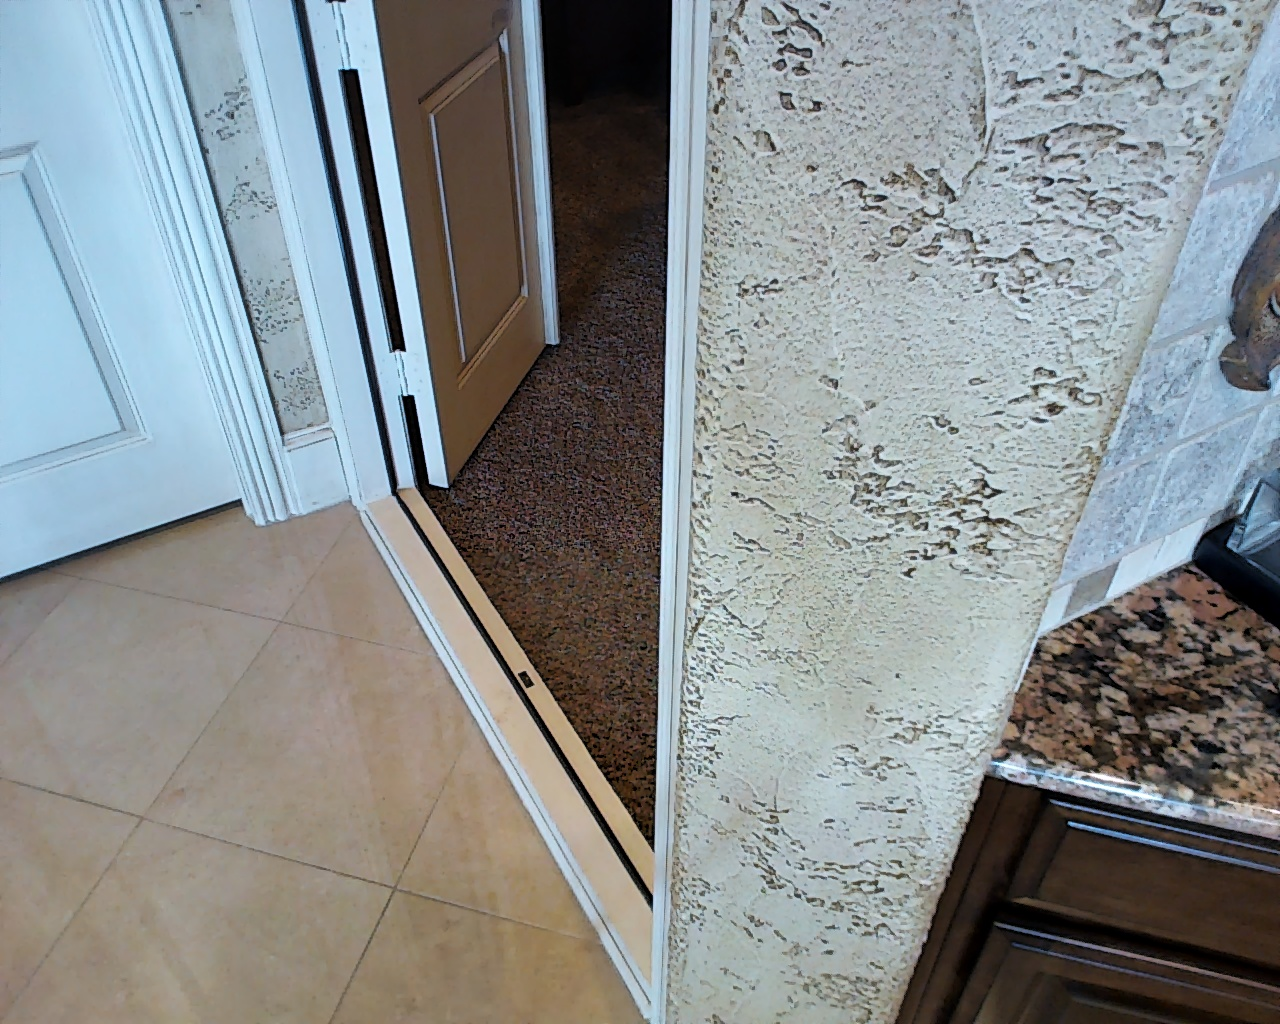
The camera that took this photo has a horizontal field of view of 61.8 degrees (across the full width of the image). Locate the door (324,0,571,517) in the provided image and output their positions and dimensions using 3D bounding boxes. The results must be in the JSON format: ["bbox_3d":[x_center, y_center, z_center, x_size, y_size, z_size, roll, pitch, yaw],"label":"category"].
[{"bbox_3d":[-0.340,-1.140,1.760,0.110,2.480,0.680,11,43,13],"label":"door"}]
